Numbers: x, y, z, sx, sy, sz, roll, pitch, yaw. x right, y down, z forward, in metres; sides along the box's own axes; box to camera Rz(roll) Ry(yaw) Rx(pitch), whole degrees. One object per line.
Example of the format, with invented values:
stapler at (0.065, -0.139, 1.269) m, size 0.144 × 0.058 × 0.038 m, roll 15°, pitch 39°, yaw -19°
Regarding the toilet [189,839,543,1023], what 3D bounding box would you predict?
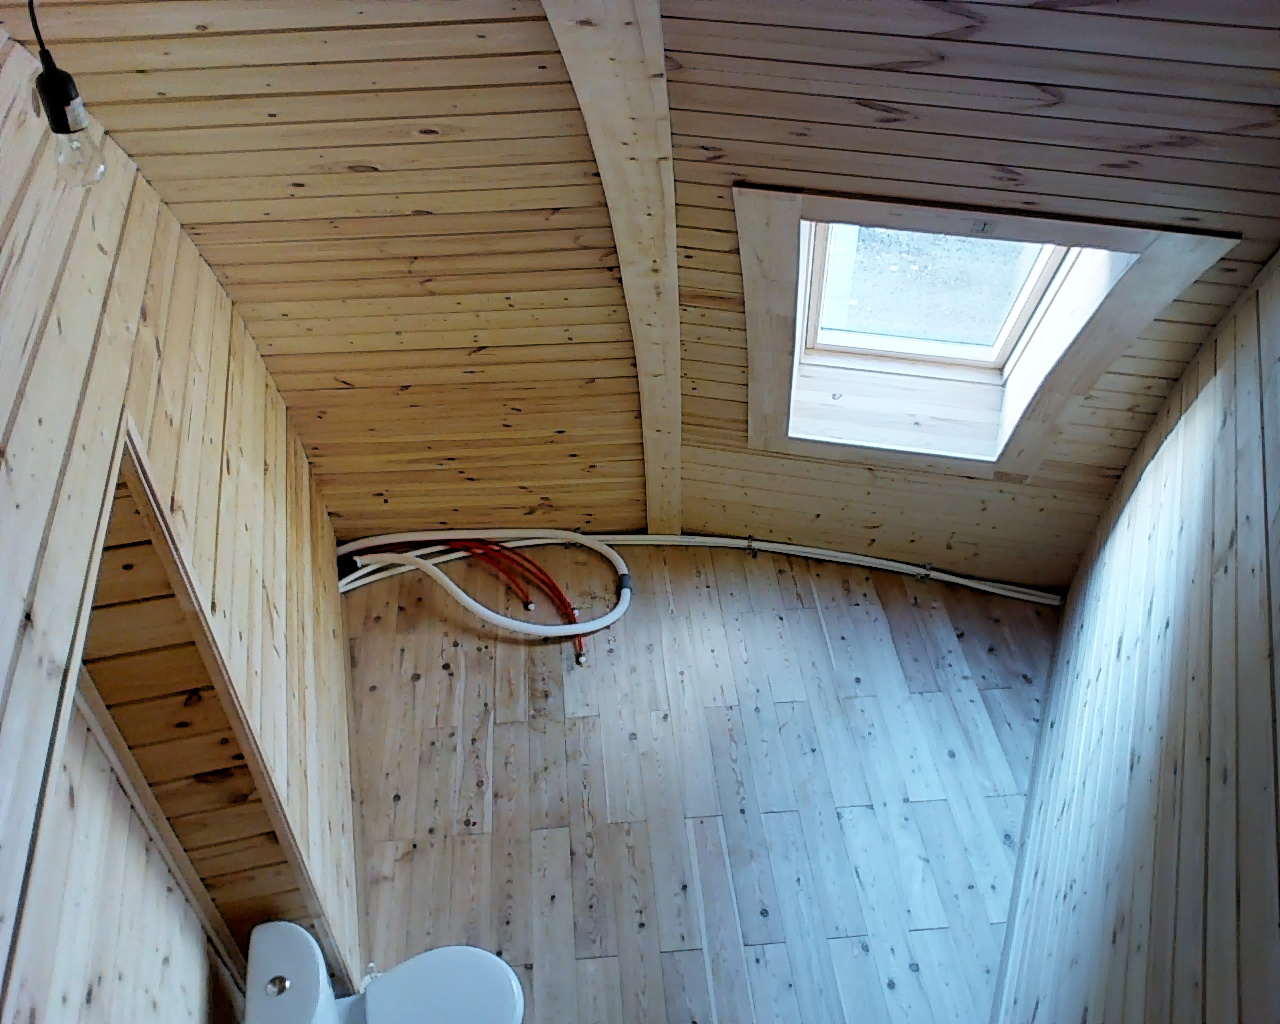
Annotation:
toilet at (-0.680, 1.390, 2.890) m, size 0.800 × 0.800 × 0.470 m, roll -10°, pitch 43°, yaw -11°
